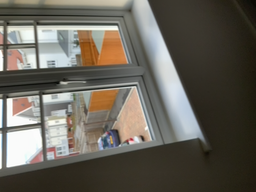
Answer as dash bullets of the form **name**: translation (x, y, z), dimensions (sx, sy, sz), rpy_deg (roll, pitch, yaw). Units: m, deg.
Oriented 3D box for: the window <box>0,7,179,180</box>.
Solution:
- **window**: translation (-0.400, -0.120, 1.350), dimensions (0.200, 1.140, 1.060), rpy_deg (114, 145, -55)
